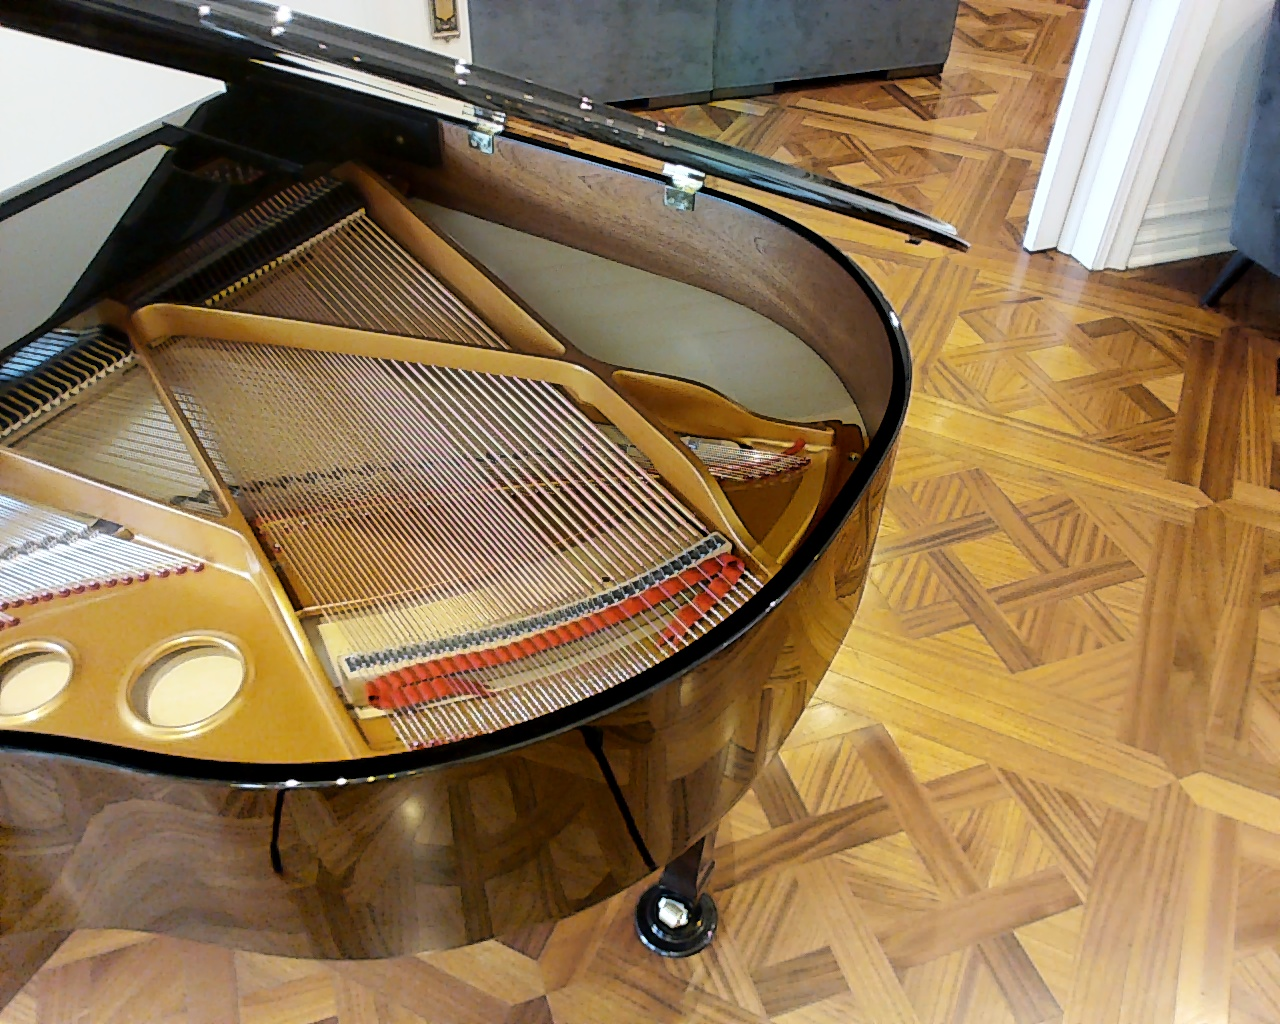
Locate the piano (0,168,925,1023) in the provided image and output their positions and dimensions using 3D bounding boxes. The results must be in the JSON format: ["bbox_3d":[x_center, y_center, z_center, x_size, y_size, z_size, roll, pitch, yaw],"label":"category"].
[{"bbox_3d":[-0.390,0.340,1.360,1.040,0.930,1.130,19,46,18],"label":"piano"}]
